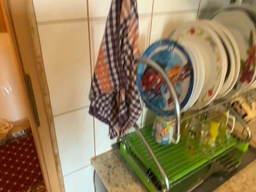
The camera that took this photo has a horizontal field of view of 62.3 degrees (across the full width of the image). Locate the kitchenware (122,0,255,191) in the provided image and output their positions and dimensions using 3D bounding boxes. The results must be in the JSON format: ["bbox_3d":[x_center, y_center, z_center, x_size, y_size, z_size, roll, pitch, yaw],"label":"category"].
[{"bbox_3d":[0.260,-0.040,0.720,0.470,0.500,0.270,-17,36,-30],"label":"kitchenware"}]
